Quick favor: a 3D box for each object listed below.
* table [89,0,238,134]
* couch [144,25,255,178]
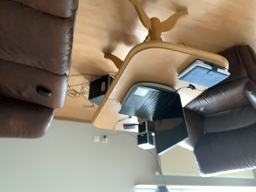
[{"bbox_3d":[0.100,-0.220,1.600,0.550,0.640,1.110,8,150,-18],"label":"table"},{"bbox_3d":[0.930,0.190,2.080,1.150,0.940,0.950,-23,145,32],"label":"couch"}]
